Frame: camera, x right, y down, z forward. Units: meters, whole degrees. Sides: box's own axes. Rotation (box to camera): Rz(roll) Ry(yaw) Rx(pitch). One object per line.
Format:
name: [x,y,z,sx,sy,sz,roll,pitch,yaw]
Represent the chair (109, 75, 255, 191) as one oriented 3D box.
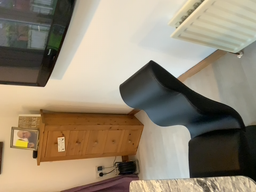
chair: [0.460,0.330,1.240,0.440,1.000,0.650,-38,53,54]
